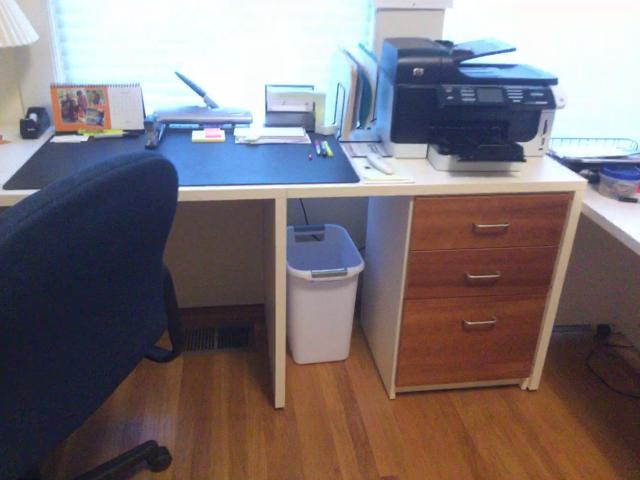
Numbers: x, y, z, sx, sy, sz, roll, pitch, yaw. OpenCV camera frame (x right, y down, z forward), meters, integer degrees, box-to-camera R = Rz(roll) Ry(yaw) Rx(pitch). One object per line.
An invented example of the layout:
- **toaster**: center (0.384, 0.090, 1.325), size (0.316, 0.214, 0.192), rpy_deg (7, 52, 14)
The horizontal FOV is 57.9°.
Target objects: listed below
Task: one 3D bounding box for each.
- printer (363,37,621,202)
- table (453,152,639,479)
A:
- **printer**: center (0.450, -0.370, 1.700), size (0.510, 0.350, 0.500), rpy_deg (-1, 26, -11)
- **table**: center (0.950, 0.290, 1.520), size (0.700, 0.690, 1.210), rpy_deg (0, 26, -9)
